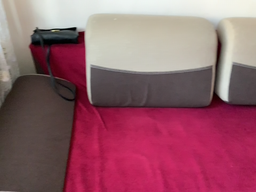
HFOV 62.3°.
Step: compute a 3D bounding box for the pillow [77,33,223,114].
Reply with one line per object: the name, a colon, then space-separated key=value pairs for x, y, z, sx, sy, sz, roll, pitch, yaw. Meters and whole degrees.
pillow: x=0.100 y=-0.120 z=1.140 sx=0.690 sy=0.390 sz=0.170 roll=0 pitch=22 yaw=-5
